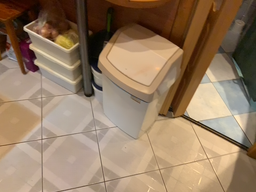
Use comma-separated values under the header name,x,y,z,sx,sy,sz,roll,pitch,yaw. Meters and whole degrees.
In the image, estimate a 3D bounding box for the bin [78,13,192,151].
name,x,y,z,sx,sy,sz,roll,pitch,yaw
bin,0.000,-0.040,1.280,0.490,0.690,0.250,31,55,16
